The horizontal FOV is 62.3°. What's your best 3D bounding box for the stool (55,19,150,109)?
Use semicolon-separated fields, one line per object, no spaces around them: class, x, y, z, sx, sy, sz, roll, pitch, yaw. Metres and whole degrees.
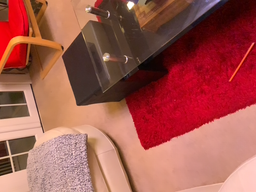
stool;-0.180;-0.190;1.430;0.380;0.390;0.400;-33;71;39

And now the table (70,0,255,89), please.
table;0.210;-0.530;1.040;1.010;0.400;0.590;-33;71;39
